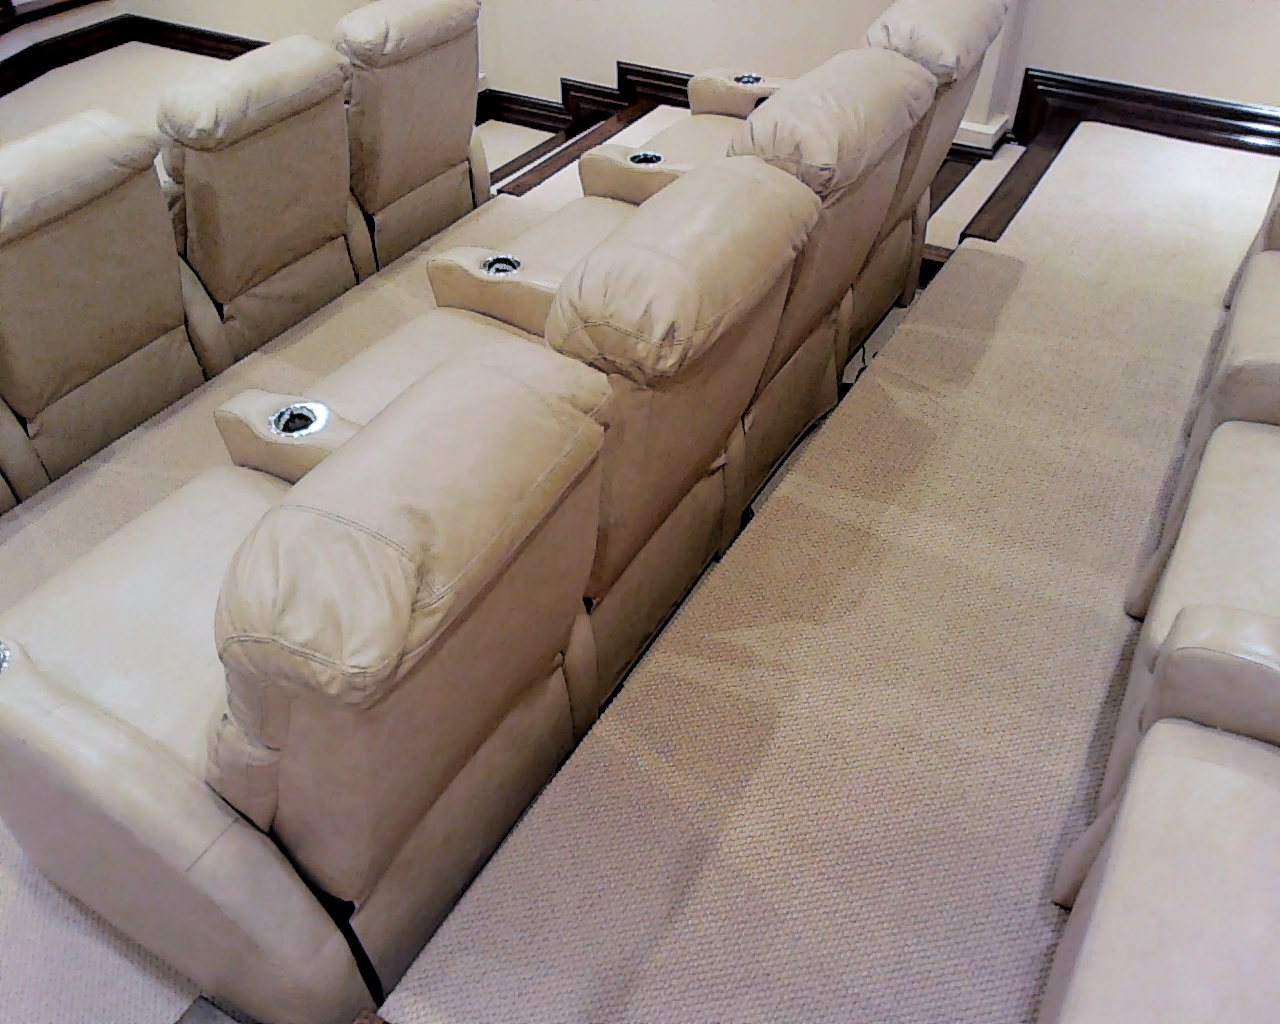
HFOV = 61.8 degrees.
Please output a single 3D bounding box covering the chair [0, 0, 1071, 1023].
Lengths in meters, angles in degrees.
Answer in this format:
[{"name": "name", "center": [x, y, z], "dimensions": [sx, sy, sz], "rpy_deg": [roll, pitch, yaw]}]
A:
[{"name": "chair", "center": [-0.080, -0.480, 2.430], "dimensions": [1.210, 1.100, 2.960], "rpy_deg": [20, 46, 23]}]
